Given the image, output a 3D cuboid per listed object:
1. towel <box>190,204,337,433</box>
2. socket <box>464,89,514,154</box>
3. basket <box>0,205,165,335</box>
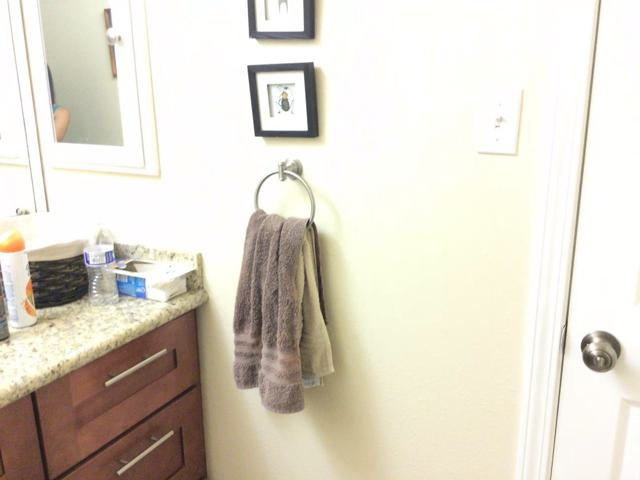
[{"bbox_3d":[-0.120,0.160,1.290,0.260,0.450,0.150,5,14,29],"label":"towel"},{"bbox_3d":[0.300,-0.210,1.030,0.080,0.110,0.020,5,14,29],"label":"socket"},{"bbox_3d":[-0.700,0.050,1.470,0.490,0.210,0.320,5,14,29],"label":"basket"}]
